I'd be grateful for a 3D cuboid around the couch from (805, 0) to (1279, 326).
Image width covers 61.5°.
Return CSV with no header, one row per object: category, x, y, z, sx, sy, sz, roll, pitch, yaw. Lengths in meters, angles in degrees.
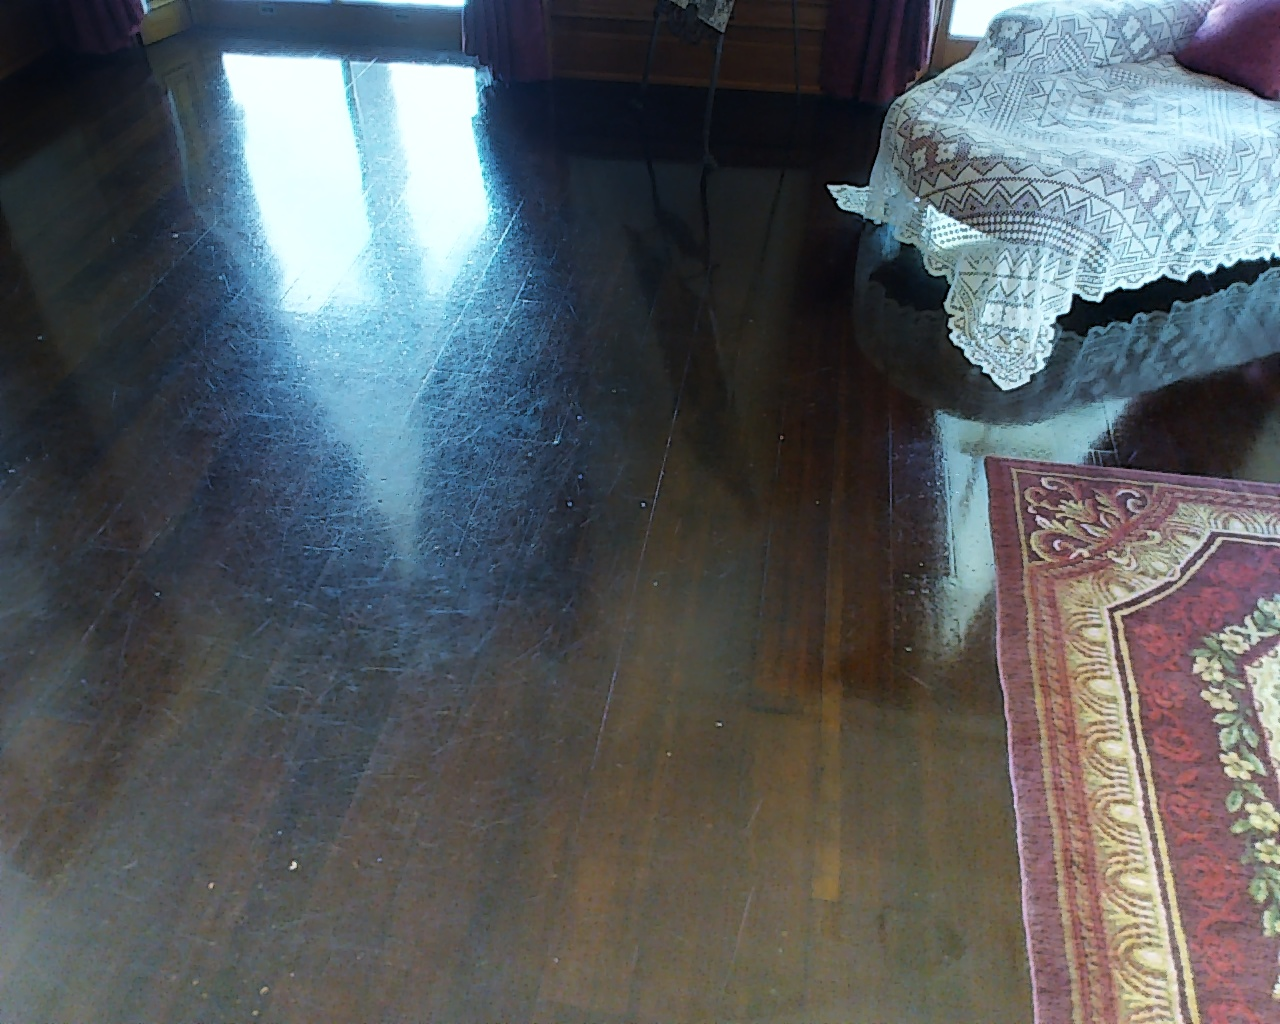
couch,1.620,-1.310,3.150,1.970,0.750,0.950,-16,45,-16
